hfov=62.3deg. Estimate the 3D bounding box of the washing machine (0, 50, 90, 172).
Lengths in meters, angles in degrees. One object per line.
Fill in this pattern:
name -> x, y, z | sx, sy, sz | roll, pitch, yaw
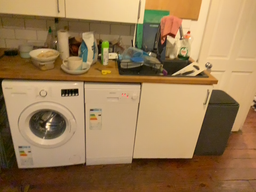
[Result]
washing machine -> -0.700, 0.120, 2.020 | 0.620, 0.900, 0.710 | 1, 27, -7
